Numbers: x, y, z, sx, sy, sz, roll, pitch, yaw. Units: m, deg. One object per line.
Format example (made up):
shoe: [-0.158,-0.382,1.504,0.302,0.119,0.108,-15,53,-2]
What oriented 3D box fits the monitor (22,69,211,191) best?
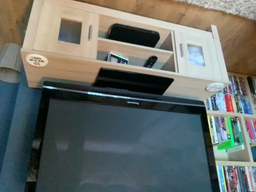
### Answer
monitor: [-0.010,0.230,1.200,0.970,0.680,0.060,7,155,-16]

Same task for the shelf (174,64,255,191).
shelf: [1.020,0.660,1.890,0.980,1.810,0.360,8,155,-17]
